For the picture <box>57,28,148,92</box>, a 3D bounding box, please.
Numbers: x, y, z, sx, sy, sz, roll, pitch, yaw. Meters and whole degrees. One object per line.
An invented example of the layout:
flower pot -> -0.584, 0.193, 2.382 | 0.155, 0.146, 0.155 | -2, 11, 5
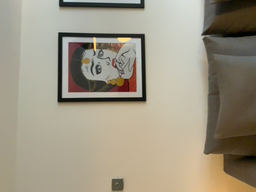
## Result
picture -> -0.220, -0.320, 1.890 | 0.020, 0.790, 0.570 | 125, 145, -82
